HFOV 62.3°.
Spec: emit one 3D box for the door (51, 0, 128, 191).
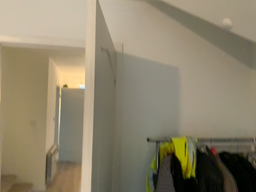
[{"bbox_3d":[-0.150,0.670,1.180,0.150,2.040,0.960,1,-2,6],"label":"door"}]
